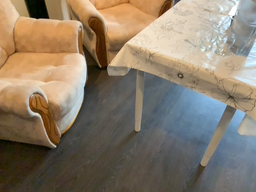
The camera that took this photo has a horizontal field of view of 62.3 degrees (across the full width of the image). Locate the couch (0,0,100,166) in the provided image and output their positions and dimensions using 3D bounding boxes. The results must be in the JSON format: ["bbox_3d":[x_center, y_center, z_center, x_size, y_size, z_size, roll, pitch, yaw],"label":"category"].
[{"bbox_3d":[-0.760,-0.260,1.330,0.870,0.990,0.840,7,45,8],"label":"couch"}]

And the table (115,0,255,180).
[{"bbox_3d":[0.550,-0.230,1.490,0.640,0.710,1.210,26,51,24],"label":"table"}]

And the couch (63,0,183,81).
[{"bbox_3d":[-0.110,-0.900,1.990,0.800,0.950,0.940,-20,48,-19],"label":"couch"}]
